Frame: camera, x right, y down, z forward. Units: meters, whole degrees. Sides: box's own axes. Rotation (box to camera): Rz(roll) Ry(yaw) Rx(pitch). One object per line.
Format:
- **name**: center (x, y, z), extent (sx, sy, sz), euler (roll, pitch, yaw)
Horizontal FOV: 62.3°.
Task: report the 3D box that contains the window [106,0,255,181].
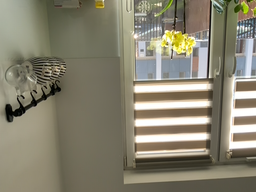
- **window**: center (0.650, -0.140, 1.510), extent (1.560, 1.440, 0.140), euler (-2, -169, -4)
